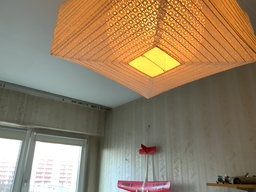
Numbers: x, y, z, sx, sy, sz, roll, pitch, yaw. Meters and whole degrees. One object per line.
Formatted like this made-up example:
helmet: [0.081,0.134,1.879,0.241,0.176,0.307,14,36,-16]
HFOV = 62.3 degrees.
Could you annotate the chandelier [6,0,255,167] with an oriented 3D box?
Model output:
chandelier: [0.080,-0.320,0.920,0.620,0.690,1.130,25,60,-39]
